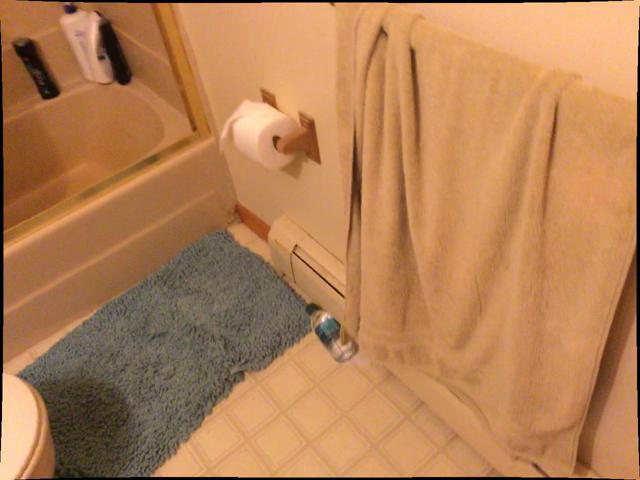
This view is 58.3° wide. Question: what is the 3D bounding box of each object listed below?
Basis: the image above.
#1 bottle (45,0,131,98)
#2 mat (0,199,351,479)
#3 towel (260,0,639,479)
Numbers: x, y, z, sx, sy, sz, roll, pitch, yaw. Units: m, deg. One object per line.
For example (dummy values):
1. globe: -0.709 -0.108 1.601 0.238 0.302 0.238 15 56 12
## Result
1. bottle: -0.819 -0.681 2.040 0.140 0.260 0.180 -34 52 -22
2. mat: -0.460 0.300 1.630 0.630 0.080 0.940 32 58 32
3. towel: 0.220 0.060 1.000 0.180 0.850 0.610 -34 52 -22
